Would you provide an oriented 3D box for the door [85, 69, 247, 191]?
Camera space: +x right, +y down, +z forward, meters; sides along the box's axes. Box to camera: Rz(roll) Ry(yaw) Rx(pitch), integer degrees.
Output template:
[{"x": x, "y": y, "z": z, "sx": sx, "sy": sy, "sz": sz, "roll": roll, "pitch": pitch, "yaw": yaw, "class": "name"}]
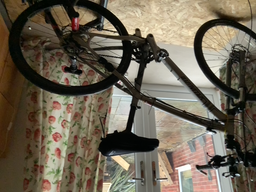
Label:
[{"x": 0.390, "y": 0.930, "z": 2.060, "sx": 1.580, "sy": 2.610, "sz": 0.110, "roll": 2, "pitch": 156, "yaw": -8, "class": "door"}]
